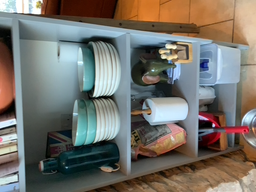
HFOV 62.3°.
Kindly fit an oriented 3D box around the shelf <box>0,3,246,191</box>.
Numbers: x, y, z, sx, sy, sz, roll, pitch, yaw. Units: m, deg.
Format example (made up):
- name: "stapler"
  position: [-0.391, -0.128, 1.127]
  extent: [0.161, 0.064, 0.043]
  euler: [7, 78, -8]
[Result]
- name: "shelf"
  position: [-0.280, 0.050, 1.000]
  extent: [0.370, 2.170, 0.740]
  euler: [9, 100, 59]
